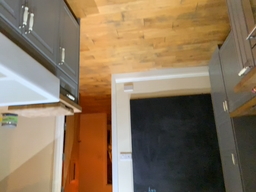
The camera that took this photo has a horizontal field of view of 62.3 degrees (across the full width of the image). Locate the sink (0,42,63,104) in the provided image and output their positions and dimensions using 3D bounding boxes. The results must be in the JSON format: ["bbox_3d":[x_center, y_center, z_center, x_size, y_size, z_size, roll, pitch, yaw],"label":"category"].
[{"bbox_3d":[-0.750,-0.110,1.310,0.540,0.210,0.410,-4,164,7],"label":"sink"}]
